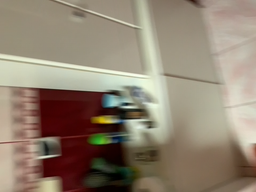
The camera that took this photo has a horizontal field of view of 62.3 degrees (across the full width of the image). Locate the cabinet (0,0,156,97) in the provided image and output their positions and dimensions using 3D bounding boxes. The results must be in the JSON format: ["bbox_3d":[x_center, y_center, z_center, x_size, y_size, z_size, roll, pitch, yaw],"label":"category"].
[{"bbox_3d":[-0.340,-0.300,0.870,0.340,0.860,0.510,-20,73,48],"label":"cabinet"}]
